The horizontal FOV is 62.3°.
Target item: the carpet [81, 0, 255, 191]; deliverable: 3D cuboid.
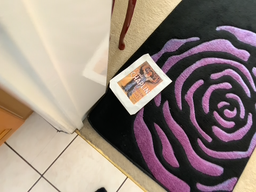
[{"bbox_3d":[0.560,-0.190,1.220,0.870,0.020,1.470,39,72,4],"label":"carpet"}]
